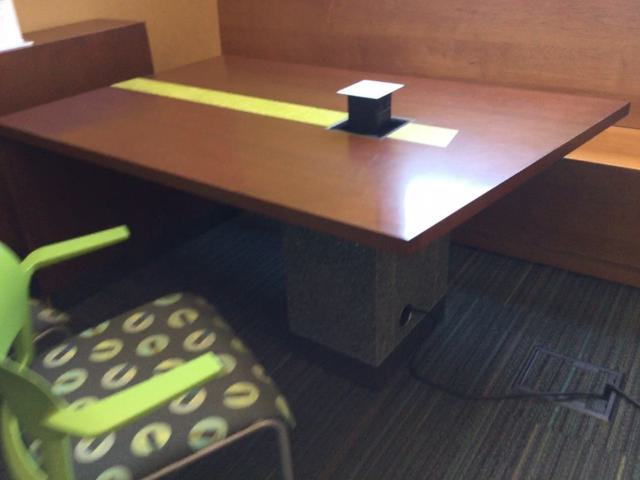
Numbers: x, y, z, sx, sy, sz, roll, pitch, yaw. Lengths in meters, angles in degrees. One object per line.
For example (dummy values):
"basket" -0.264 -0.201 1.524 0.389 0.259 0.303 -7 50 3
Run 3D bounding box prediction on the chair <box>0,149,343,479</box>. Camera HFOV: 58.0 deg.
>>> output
"chair" -0.370 0.340 1.200 0.620 0.810 0.620 -15 29 -19
